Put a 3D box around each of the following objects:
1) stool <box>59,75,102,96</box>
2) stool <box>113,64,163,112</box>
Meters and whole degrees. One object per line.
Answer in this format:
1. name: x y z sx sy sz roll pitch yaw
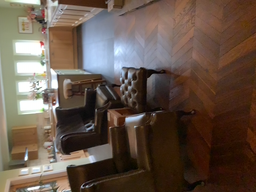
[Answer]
1. stool: -0.970 -0.230 4.370 0.350 0.800 0.350 -153 63 -63
2. stool: 0.090 -0.130 2.530 0.650 0.320 0.440 -151 61 -63
